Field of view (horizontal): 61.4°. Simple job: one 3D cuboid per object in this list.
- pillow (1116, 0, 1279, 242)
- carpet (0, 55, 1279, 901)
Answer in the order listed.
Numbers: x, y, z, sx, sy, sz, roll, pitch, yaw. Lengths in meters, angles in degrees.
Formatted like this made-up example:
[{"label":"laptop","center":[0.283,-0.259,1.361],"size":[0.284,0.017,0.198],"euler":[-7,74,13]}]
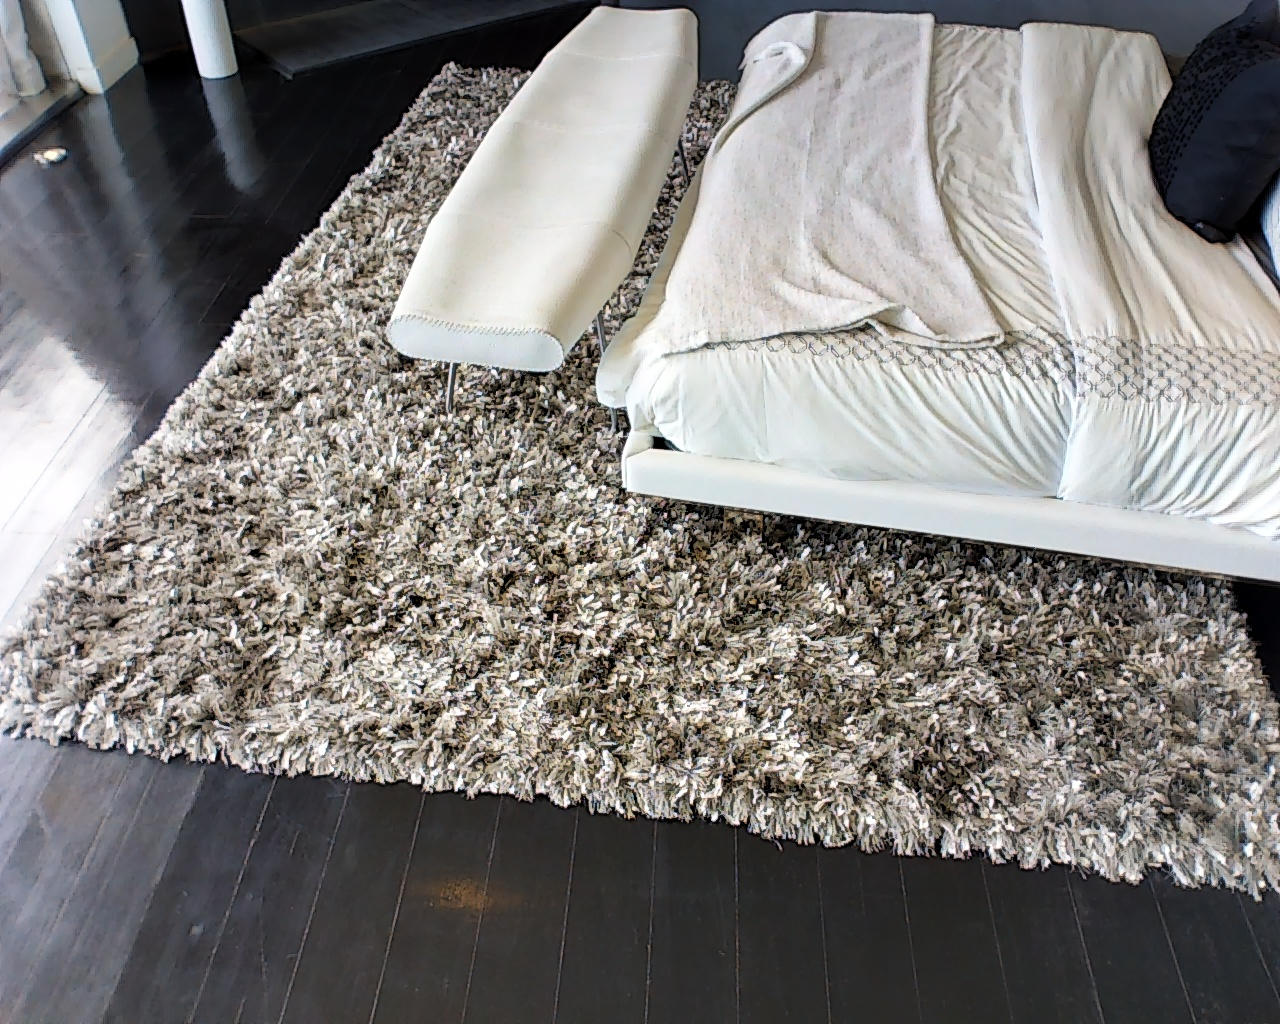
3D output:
[{"label":"pillow","center":[1.320,-0.870,2.340],"size":[0.240,0.370,0.570],"euler":[10,34,-4]},{"label":"carpet","center":[0.090,-0.590,2.970],"size":[2.450,0.100,3.250],"euler":[5,42,5]}]
